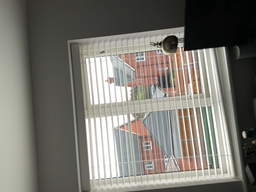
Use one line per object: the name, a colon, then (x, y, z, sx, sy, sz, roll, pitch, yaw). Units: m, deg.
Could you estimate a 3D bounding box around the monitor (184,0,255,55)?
monitor: (0.590, -0.620, 1.270, 0.040, 0.470, 0.730, -93, -4, -55)
